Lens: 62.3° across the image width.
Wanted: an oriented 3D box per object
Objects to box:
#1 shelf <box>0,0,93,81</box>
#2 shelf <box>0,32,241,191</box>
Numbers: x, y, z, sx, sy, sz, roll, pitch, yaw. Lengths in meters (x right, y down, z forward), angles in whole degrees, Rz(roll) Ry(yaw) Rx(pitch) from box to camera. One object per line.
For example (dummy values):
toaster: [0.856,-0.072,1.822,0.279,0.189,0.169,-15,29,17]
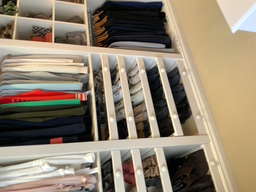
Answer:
shelf: [-1.090,-0.770,2.380,0.700,1.220,0.900,122,144,-55]
shelf: [-0.340,0.510,1.890,0.700,2.340,2.000,122,144,-55]
